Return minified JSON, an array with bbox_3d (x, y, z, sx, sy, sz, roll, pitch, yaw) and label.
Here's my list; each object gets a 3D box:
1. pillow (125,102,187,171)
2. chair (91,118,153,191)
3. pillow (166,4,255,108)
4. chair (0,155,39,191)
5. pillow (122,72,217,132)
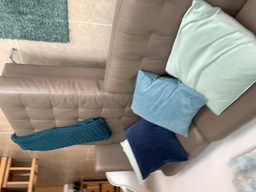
[{"bbox_3d":[0.200,0.370,1.830,0.310,0.420,0.500,4,146,-15],"label":"pillow"},{"bbox_3d":[-0.070,0.860,2.780,0.620,0.850,0.640,-11,147,9],"label":"chair"},{"bbox_3d":[0.430,-0.220,1.070,0.270,0.410,0.420,1,114,-13],"label":"pillow"},{"bbox_3d":[-1.780,1.460,3.430,0.460,0.880,0.450,4,147,-14],"label":"chair"},{"bbox_3d":[0.250,0.060,1.400,0.490,0.210,0.320,7,146,-19],"label":"pillow"}]
